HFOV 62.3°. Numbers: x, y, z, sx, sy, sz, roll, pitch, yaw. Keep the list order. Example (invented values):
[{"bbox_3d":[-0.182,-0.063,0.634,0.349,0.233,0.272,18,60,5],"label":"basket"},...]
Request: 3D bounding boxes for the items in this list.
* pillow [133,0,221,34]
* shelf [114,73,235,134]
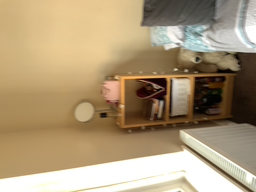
[{"bbox_3d":[0.310,-0.690,1.410,0.470,0.380,0.470,-133,44,-61],"label":"pillow"},{"bbox_3d":[0.410,0.030,1.890,0.310,1.020,0.430,-148,58,-67],"label":"shelf"}]
